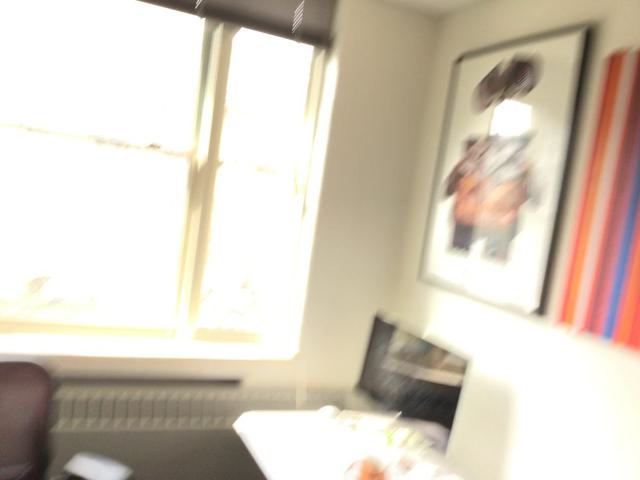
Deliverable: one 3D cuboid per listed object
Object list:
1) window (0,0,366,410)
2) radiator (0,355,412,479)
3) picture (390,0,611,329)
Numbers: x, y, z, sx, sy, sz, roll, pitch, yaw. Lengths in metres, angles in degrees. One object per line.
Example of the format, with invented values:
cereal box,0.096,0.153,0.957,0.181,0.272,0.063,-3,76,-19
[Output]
window,-0.970,-0.350,2.200,2.080,1.880,0.370,8,5,-22
radiator,-0.890,0.830,2.260,2.560,0.630,0.350,8,5,-22
picture,0.620,-0.290,2.260,0.090,1.040,0.920,8,5,-22
